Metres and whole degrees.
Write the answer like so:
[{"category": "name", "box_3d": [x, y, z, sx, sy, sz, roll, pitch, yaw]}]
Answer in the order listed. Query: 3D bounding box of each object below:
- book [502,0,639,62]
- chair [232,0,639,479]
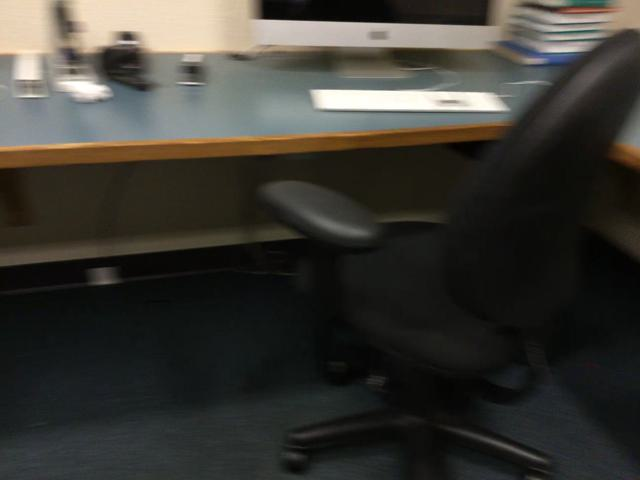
[{"category": "book", "box_3d": [0.820, -0.680, 1.830, 0.390, 0.180, 0.200, -6, 30, -19]}, {"category": "chair", "box_3d": [0.230, 0.040, 1.190, 0.600, 0.990, 0.590, -15, 34, -33]}]
